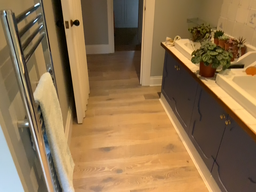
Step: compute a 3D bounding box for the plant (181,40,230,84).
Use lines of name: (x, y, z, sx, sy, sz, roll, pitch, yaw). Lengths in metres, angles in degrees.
plant: (0.540, -0.250, 1.520, 0.200, 0.240, 0.230, -4, 31, -10)
